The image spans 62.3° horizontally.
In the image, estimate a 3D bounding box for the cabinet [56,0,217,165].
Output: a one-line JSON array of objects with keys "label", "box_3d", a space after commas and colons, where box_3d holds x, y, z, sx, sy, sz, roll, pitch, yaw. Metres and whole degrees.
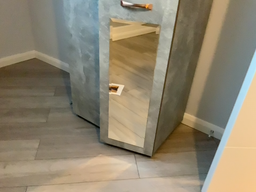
[{"label": "cabinet", "box_3d": [0.050, -0.610, 1.280, 0.800, 1.900, 0.560, 24, 36, 29]}]
